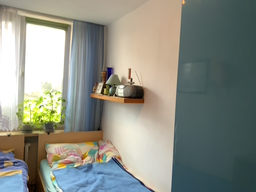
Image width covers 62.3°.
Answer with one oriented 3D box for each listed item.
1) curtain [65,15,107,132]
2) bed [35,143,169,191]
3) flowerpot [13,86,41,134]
[{"bbox_3d":[-0.660,-0.320,3.330,0.540,1.720,0.180,2,3,-25],"label":"curtain"},{"bbox_3d":[-0.370,1.120,2.320,0.950,0.580,2.100,2,3,-30],"label":"bed"},{"bbox_3d":[-1.480,0.190,3.100,0.330,0.660,0.250,2,3,-30],"label":"flowerpot"}]
